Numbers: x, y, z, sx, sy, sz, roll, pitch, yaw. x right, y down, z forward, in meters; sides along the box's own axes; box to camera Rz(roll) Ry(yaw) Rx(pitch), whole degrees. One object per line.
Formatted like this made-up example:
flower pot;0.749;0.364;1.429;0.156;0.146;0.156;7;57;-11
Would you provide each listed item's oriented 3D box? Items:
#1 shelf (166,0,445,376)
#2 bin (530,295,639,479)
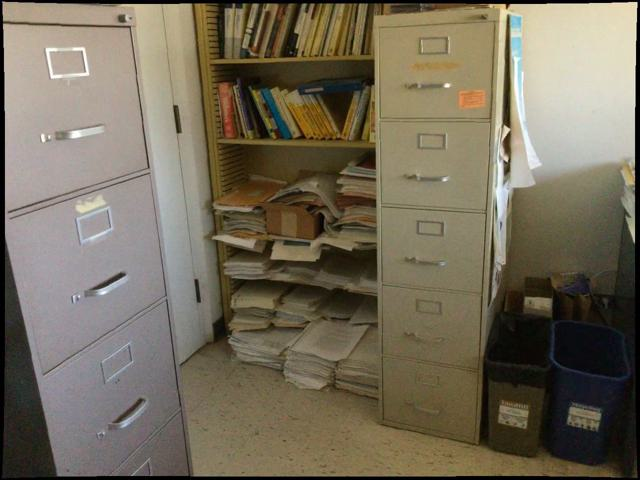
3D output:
shelf;-0.030;-0.471;2.580;1.078;2.015;0.450;4;19;21
bin;0.948;0.521;2.110;0.289;0.441;0.520;4;20;21
